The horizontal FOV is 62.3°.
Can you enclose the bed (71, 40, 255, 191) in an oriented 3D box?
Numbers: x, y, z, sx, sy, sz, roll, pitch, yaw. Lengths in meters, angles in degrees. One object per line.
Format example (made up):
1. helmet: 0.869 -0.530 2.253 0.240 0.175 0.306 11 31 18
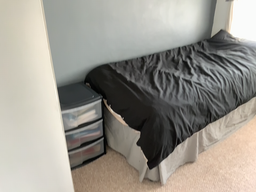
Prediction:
1. bed: 0.630 -0.020 2.250 2.050 0.670 1.090 -20 34 -34
